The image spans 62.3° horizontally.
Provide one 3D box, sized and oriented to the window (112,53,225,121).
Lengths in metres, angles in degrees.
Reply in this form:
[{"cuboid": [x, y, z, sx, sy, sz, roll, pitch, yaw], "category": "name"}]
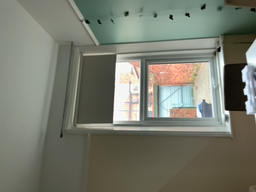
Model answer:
[{"cuboid": [0.520, -0.100, 2.930, 0.340, 1.400, 0.840, 58, -147, -72], "category": "window"}]
